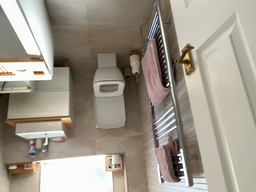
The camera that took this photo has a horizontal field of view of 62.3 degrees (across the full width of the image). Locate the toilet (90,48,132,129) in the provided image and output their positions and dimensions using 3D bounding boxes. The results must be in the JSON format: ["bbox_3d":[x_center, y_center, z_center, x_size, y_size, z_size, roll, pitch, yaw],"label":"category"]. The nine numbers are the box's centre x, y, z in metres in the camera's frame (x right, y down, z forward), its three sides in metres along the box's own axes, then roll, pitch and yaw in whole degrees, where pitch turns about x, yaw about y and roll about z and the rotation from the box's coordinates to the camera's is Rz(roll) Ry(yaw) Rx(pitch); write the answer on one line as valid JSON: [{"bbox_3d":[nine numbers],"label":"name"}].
[{"bbox_3d":[-0.230,-0.070,2.540,0.400,0.790,0.610,-2,160,-9],"label":"toilet"}]

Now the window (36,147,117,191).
[{"bbox_3d":[-0.650,1.270,2.790,0.980,1.060,0.370,-2,160,-9],"label":"window"}]
